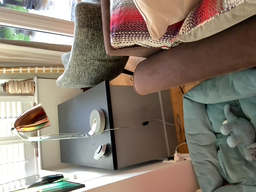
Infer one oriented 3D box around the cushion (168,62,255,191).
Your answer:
[{"bbox_3d":[0.670,0.290,1.260,0.810,0.210,0.870,-16,78,52],"label":"cushion"}]
